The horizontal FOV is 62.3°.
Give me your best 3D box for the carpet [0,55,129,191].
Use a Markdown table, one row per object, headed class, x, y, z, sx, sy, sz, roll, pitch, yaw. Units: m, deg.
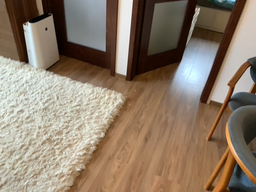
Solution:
| class | x | y | z | sx | sy | sz | roll | pitch | yaw |
| --- | --- | --- | --- | --- | --- | --- | --- | --- | --- |
| carpet | -1.380 | 0.100 | 1.930 | 2.380 | 0.070 | 1.600 | 16 | 39 | 12 |
